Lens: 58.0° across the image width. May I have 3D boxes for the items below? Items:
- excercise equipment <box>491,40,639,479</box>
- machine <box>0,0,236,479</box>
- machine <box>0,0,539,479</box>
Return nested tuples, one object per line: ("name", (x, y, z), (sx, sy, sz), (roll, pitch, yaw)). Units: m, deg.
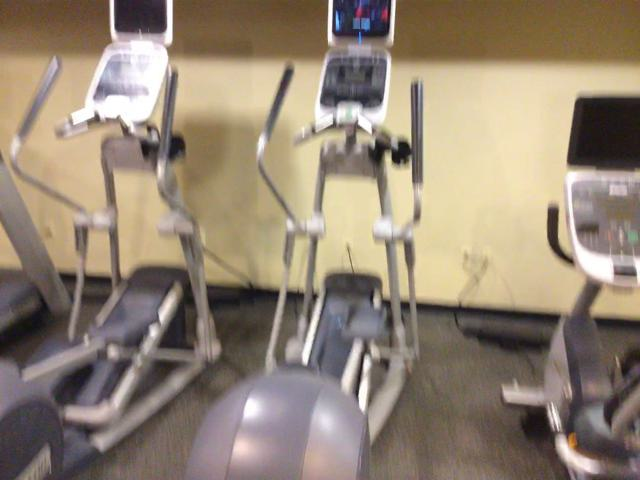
("excercise equipment", (1.000, 0.190, 1.850), (0.720, 1.500, 1.500), (3, 16, 13))
("machine", (-0.990, -0.140, 2.030), (0.810, 1.830, 1.980), (2, 18, 7))
("machine", (0.010, -0.020, 1.970), (0.920, 1.860, 1.950), (2, 17, 9))
